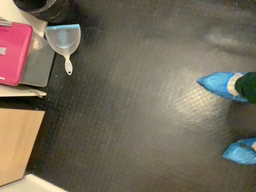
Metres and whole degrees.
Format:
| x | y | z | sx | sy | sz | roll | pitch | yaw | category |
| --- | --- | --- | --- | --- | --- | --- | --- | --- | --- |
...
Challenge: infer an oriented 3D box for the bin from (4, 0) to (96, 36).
| x | y | z | sx | sy | sz | roll | pitch | yaw | category |
| --- | --- | --- | --- | --- | --- | --- | --- | --- | --- |
| -0.400 | -0.590 | 1.200 | 0.320 | 0.310 | 0.340 | 17 | 89 | 15 | bin |
